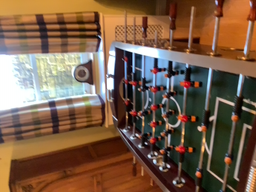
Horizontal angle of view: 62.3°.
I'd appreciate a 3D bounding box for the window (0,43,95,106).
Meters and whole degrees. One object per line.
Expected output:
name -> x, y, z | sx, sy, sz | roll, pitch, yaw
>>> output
window -> -0.990, -0.250, 2.330 | 0.120, 1.220, 0.600 | -146, 52, -58
